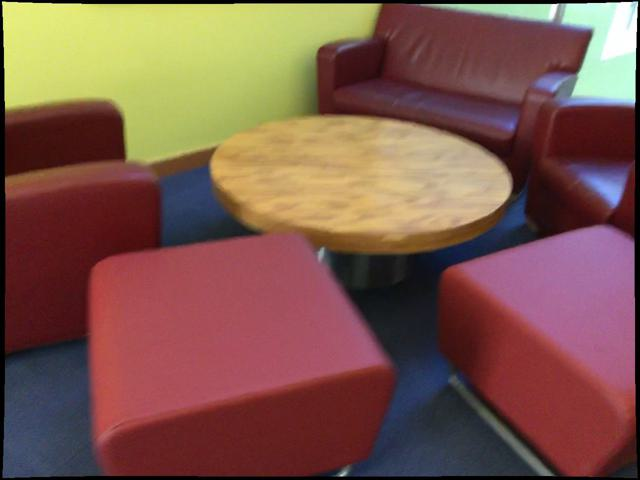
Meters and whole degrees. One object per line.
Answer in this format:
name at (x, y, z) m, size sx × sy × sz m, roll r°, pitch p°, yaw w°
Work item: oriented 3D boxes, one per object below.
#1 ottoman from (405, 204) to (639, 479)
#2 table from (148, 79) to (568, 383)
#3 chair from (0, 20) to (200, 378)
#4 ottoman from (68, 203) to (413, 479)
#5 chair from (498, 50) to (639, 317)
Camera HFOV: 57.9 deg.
ottoman at (0.769, 0.330, 1.700) m, size 0.719 × 0.460 × 0.690 m, roll -16°, pitch 38°, yaw -24°
table at (0.150, -0.190, 2.460) m, size 1.220 × 0.440 × 1.180 m, roll -27°, pitch 43°, yaw -35°
chair at (-0.999, -0.170, 1.930) m, size 0.909 × 0.831 × 0.830 m, roll -14°, pitch 37°, yaw -21°
ottoman at (-0.250, 0.310, 1.550) m, size 0.699 × 0.430 × 0.710 m, roll -10°, pitch 36°, yaw -16°
chair at (1.439, -0.290, 2.460) m, size 0.929 × 0.781 × 0.860 m, roll -4°, pitch 34°, yaw -7°
